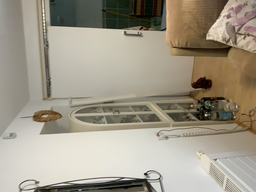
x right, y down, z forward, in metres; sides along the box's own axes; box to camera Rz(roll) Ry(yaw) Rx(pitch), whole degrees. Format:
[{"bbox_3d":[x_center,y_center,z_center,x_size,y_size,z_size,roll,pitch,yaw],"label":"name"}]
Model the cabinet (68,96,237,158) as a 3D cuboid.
[{"bbox_3d":[0.210,0.290,2.540,0.910,1.740,0.280,-129,40,-69],"label":"cabinet"}]
